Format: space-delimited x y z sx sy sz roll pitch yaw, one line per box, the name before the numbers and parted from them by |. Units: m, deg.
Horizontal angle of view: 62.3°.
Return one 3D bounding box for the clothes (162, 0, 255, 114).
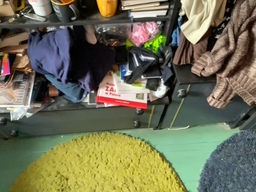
clothes | 0.410 -0.200 0.880 0.410 0.480 0.330 -3 57 -5
